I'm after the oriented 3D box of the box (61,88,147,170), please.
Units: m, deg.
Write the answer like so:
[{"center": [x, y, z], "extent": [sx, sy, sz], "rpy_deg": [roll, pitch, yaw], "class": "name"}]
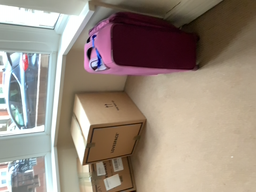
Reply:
[{"center": [-0.260, 0.280, 2.010], "extent": [0.470, 0.590, 0.530], "rpy_deg": [54, 136, 45], "class": "box"}]
